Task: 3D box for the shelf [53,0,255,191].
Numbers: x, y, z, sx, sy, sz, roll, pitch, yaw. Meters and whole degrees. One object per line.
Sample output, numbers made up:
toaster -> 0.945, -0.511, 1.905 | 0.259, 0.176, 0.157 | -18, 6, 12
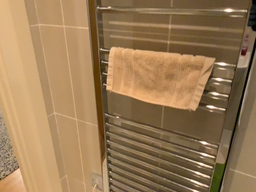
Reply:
shelf -> 0.090, 0.020, 0.680 | 0.580, 1.310, 0.180 | 13, 29, 24
